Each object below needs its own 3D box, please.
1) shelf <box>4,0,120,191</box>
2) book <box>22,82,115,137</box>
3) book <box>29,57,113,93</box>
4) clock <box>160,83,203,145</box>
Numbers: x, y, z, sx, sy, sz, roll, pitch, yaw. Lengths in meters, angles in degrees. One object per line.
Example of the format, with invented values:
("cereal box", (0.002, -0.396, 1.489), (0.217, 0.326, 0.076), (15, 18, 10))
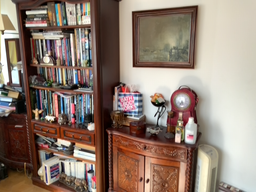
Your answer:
("shelf", (-0.630, 0.000, 2.190), (1.020, 2.070, 0.410), (7, 15, 25))
("book", (-0.610, 0.100, 2.200), (0.860, 0.360, 0.410), (7, 15, 25))
("book", (-0.590, -0.240, 2.180), (0.830, 0.280, 0.280), (7, 15, 25))
("clock", (0.440, 0.130, 1.750), (0.260, 0.410, 0.280), (8, 16, 27))
